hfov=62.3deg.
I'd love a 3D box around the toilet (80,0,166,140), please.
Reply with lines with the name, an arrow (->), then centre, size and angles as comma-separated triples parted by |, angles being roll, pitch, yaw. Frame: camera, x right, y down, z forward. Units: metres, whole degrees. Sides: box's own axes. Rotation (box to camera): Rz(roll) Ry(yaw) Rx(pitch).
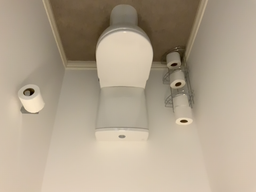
toilet -> -0.040, -0.200, 1.460 | 0.390, 0.780, 0.670 | -1, 146, -2
